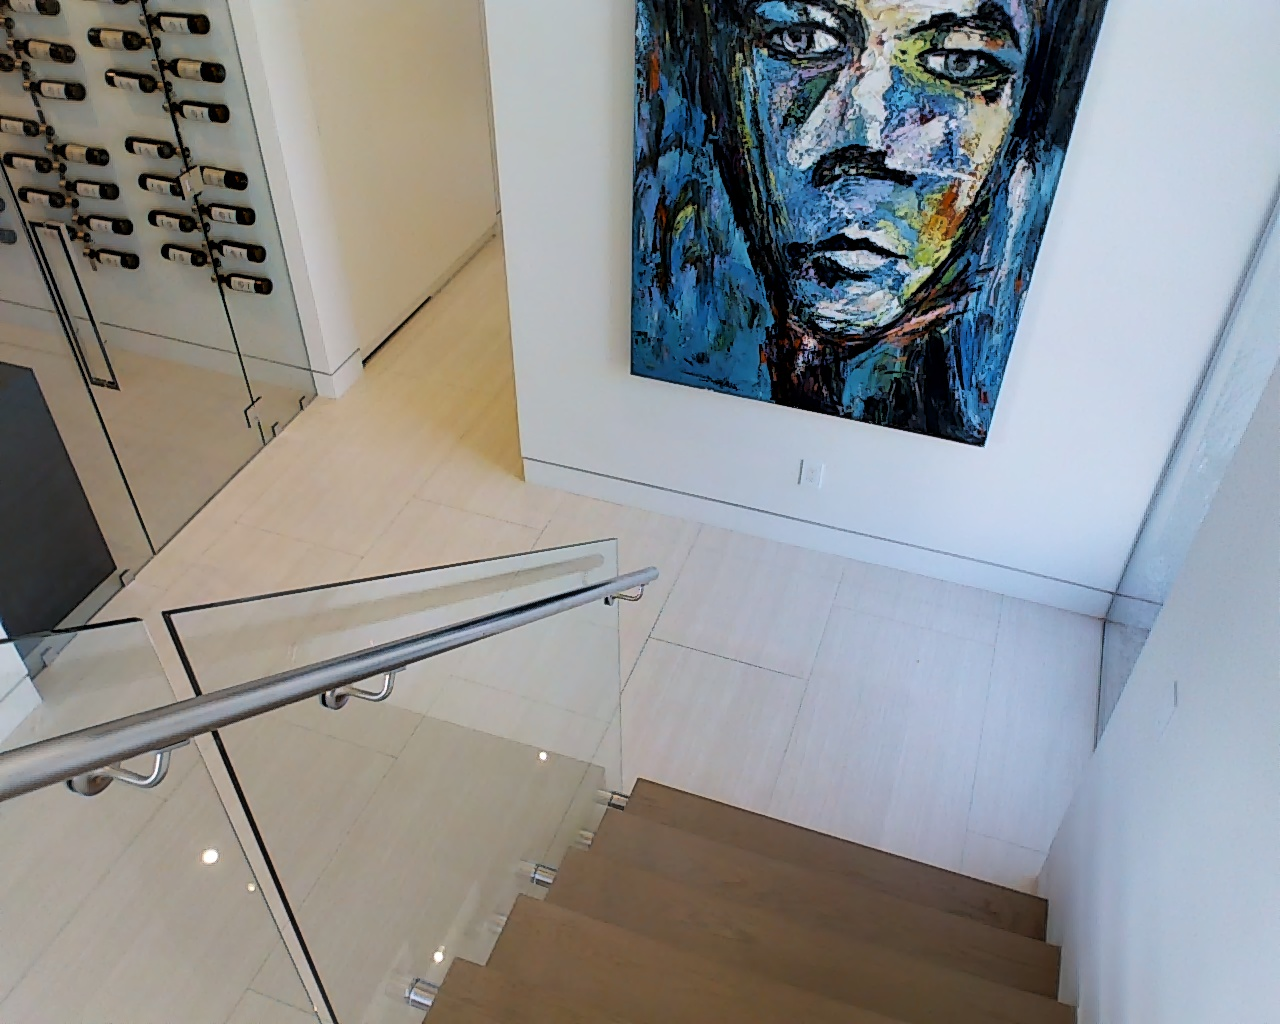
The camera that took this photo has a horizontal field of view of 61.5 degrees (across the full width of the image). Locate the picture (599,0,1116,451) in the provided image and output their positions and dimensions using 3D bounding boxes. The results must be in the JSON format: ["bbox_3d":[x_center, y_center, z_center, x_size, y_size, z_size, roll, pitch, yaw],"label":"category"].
[{"bbox_3d":[0.560,-1.030,3.340,1.420,1.690,0.080,14,43,16],"label":"picture"}]
